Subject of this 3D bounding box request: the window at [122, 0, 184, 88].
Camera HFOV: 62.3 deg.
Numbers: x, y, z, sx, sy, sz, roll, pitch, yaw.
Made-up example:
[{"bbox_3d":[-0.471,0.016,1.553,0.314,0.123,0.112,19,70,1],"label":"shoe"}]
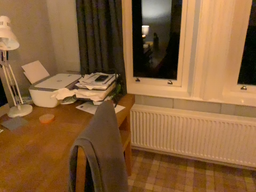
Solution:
[{"bbox_3d":[0.210,-1.140,1.750,0.540,2.220,0.120,6,25,16],"label":"window"}]
